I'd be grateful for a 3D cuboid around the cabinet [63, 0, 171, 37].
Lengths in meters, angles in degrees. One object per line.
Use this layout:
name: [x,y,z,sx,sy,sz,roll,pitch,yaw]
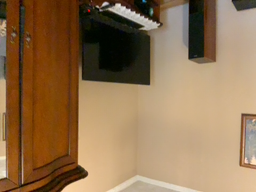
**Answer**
cabinet: [-0.030,-1.180,2.390,0.530,0.670,1.280,1,-179,36]
